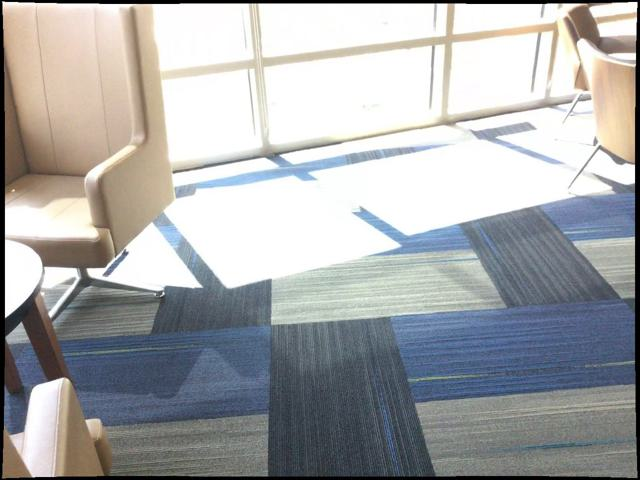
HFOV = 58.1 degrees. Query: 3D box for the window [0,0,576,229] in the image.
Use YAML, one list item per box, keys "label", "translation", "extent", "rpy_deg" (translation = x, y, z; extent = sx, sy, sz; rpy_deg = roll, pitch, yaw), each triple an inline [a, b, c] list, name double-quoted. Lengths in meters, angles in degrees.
- label: "window"
  translation: [-0.209, -1.183, 3.540]
  extent: [4.291, 1.413, 0.310]
  rpy_deg: [-15, 31, -19]
